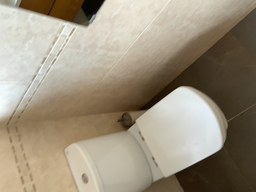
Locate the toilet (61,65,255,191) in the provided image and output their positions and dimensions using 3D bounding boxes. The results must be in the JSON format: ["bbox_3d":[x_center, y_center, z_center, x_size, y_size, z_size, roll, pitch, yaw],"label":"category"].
[{"bbox_3d":[0.190,0.230,1.170,0.680,0.770,0.390,-43,65,33],"label":"toilet"}]
